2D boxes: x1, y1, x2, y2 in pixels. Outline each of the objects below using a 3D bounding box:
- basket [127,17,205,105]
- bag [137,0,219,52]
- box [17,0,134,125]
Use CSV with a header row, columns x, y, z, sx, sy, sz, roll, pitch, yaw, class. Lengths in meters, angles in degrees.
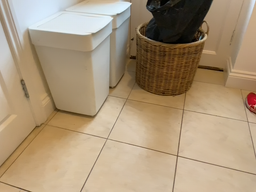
x,y,z,sx,sy,sz,roll,pitch,yaw,class
0.300,-0.300,1.630,0.450,0.410,0.550,12,38,14,basket
0.330,-0.590,1.330,0.410,0.400,0.490,12,38,14,bag
-0.250,-0.310,1.450,0.380,0.580,0.760,11,38,12,box
